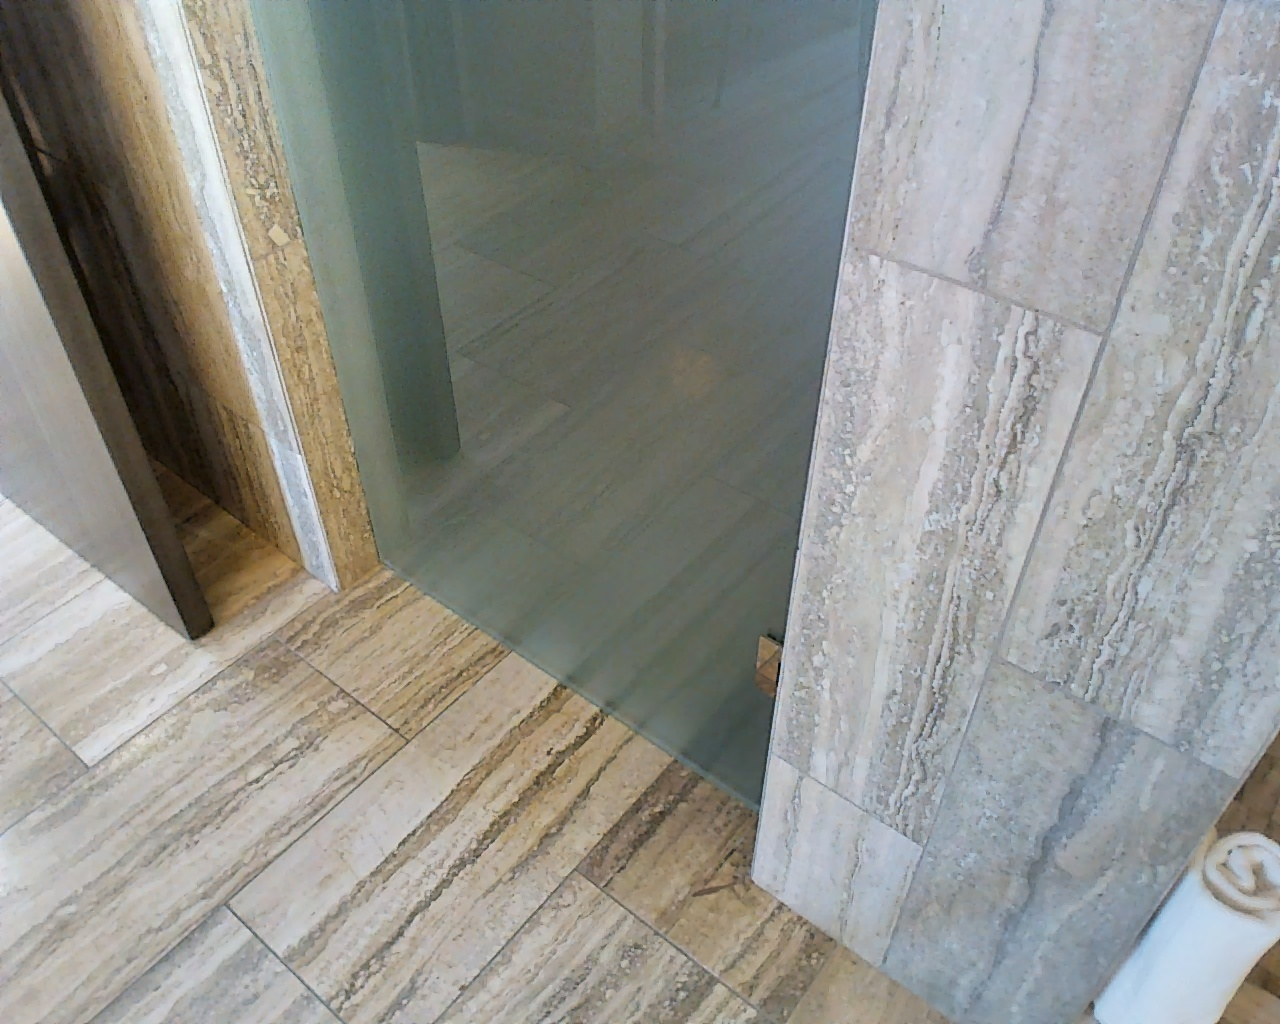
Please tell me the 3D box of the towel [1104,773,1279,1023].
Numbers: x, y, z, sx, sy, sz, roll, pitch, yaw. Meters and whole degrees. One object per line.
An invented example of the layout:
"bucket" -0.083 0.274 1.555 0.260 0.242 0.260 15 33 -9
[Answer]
"towel" 0.550 0.410 1.000 0.110 0.310 0.150 30 51 28
